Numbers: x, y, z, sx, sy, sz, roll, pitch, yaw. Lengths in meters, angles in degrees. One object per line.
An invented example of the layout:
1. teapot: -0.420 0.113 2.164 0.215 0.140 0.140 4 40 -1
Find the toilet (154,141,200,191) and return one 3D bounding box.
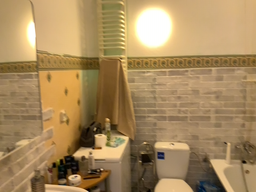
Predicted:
1. toilet: 0.440 0.900 2.060 0.360 0.710 0.640 0 8 9
